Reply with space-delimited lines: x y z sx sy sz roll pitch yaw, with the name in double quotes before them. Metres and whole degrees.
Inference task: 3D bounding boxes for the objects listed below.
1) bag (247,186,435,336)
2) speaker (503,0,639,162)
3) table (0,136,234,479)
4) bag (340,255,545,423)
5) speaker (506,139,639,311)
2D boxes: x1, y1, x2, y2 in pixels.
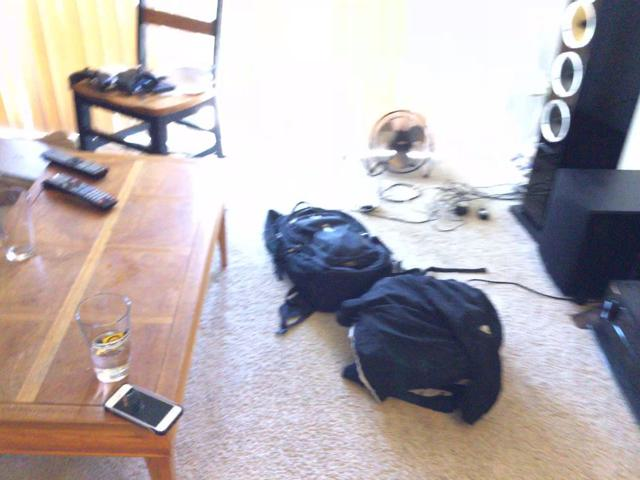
"bag" 0.040 0.040 2.000 0.460 0.240 0.550 -4 30 -20
"speaker" 0.850 -0.610 1.960 0.220 0.620 0.260 4 28 -6
"table" -0.560 0.170 1.470 0.590 0.500 1.070 4 28 -6
"bag" 0.300 0.260 1.590 0.430 0.260 0.380 4 28 -6
"speaker" 0.980 -0.060 1.970 0.450 0.400 0.460 4 28 -6
